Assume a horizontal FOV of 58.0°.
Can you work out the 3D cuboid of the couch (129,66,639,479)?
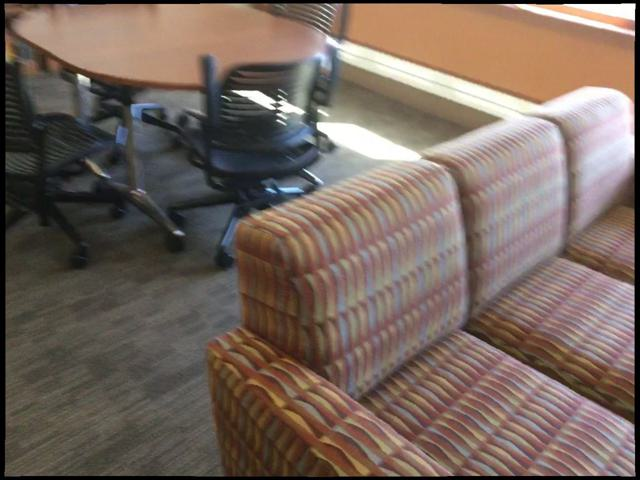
[{"bbox_3d":[0.619,0.200,1.580,0.879,0.821,1.919,32,42,34],"label":"couch"}]
